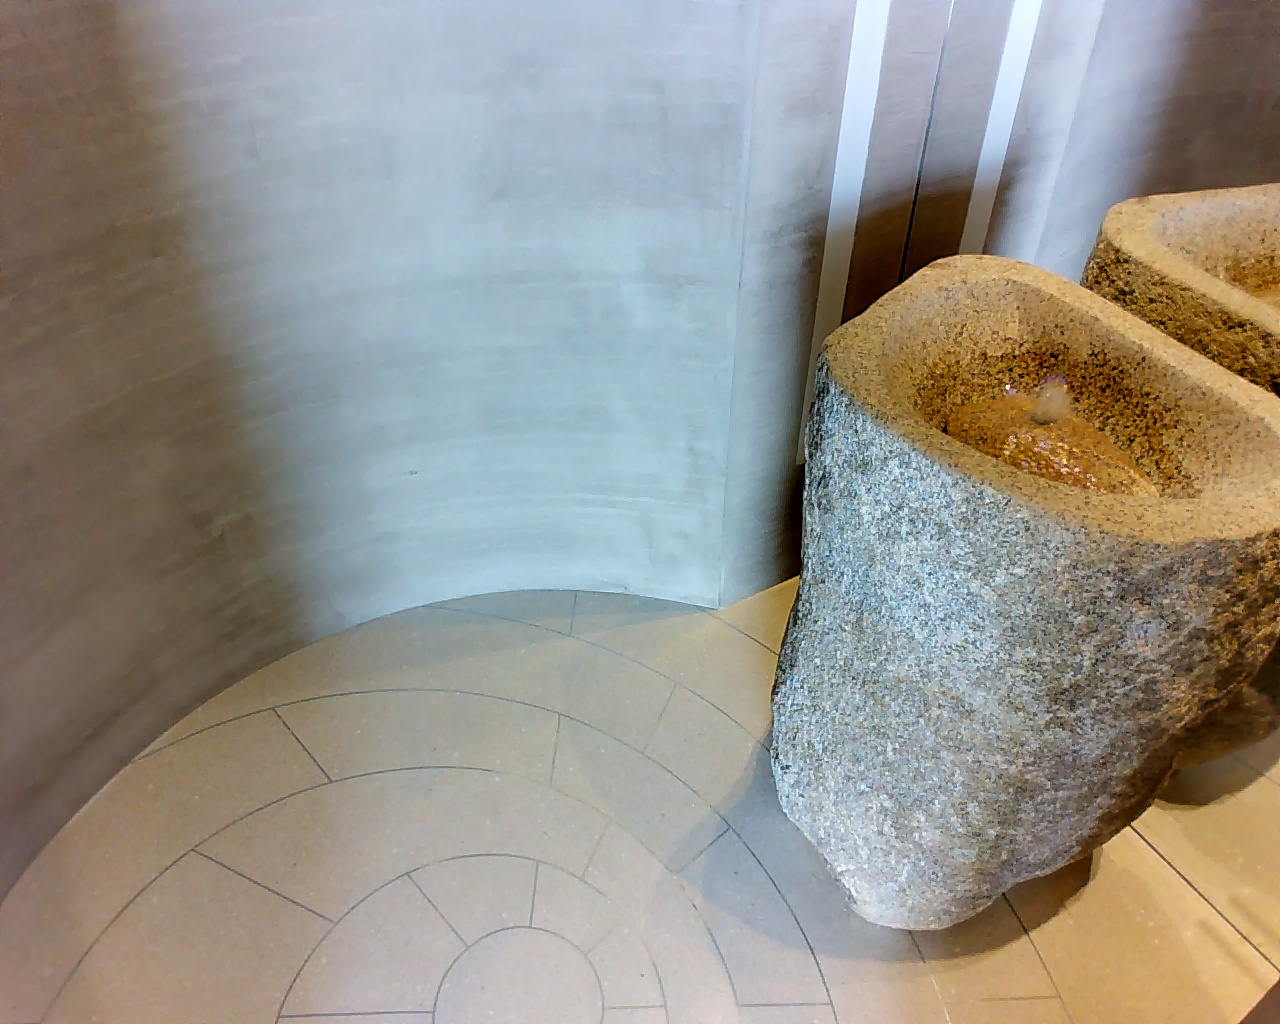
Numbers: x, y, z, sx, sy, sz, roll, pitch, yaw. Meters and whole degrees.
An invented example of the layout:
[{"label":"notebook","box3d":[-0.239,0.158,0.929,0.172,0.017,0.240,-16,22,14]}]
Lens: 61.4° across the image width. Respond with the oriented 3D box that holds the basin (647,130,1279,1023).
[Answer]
[{"label":"basin","box3d":[0.470,0.090,1.610,0.600,0.930,0.860,-15,45,-18]}]
